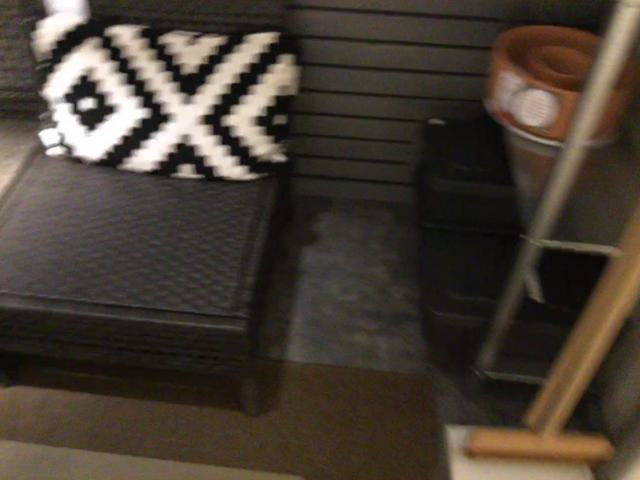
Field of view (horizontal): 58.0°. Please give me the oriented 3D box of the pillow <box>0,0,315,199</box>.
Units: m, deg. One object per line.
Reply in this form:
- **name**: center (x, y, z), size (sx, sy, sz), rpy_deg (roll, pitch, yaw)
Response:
- **pillow**: center (-0.380, -0.360, 1.410), size (0.700, 0.340, 0.340), rpy_deg (4, 43, 4)
